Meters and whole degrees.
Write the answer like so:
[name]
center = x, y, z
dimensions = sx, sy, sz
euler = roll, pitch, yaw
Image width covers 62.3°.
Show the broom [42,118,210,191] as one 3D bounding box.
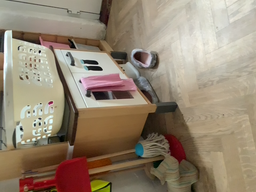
[broom]
center = -0.020, 0.330, 0.960
dimensions = 0.330, 0.640, 0.260
euler = 56, 138, 45
